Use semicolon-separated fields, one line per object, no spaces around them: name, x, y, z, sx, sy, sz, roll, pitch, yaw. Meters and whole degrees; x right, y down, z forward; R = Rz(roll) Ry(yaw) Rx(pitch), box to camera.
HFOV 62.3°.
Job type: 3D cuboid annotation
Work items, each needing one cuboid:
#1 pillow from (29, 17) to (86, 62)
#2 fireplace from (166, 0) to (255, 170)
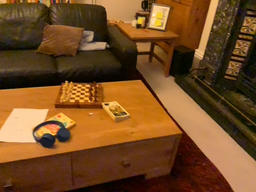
pillow;-0.700;-0.580;2.180;0.450;0.410;0.210;0;-28;2
fireplace;1.140;-0.380;1.870;0.650;1.860;1.280;-4;-56;-16
